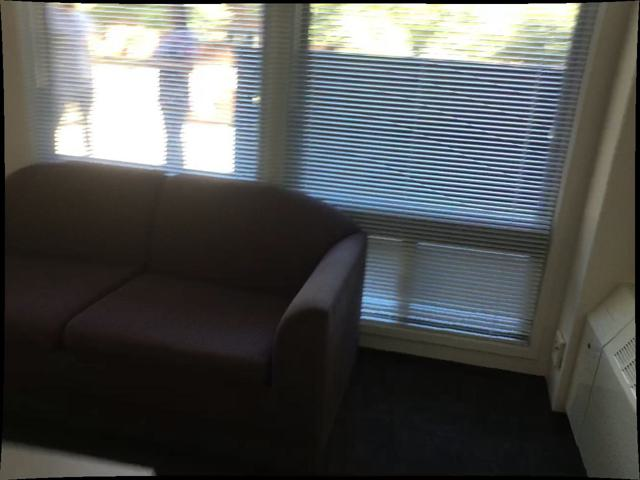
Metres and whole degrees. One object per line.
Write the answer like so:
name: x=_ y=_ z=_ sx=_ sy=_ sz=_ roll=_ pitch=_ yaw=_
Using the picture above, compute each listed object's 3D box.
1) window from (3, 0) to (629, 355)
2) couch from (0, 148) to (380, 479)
window: x=-0.130 y=-0.661 z=2.380 sx=2.386 sy=1.993 sz=0.280 roll=7 pitch=20 yaw=10
couch: x=-0.729 y=0.190 z=2.310 sx=1.767 sy=0.791 sz=0.920 roll=7 pitch=20 yaw=10
